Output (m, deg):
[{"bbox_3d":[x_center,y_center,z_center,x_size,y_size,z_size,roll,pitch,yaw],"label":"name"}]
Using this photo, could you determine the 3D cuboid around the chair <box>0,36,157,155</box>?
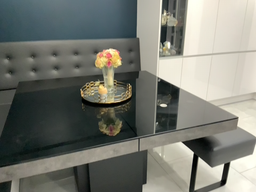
[{"bbox_3d":[-0.780,-0.100,2.560,2.190,1.100,0.610,-8,22,-22],"label":"chair"}]

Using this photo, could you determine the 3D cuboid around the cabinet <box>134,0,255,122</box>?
[{"bbox_3d":[1.100,-0.990,3.120,1.930,2.390,0.590,-8,22,-22],"label":"cabinet"}]
